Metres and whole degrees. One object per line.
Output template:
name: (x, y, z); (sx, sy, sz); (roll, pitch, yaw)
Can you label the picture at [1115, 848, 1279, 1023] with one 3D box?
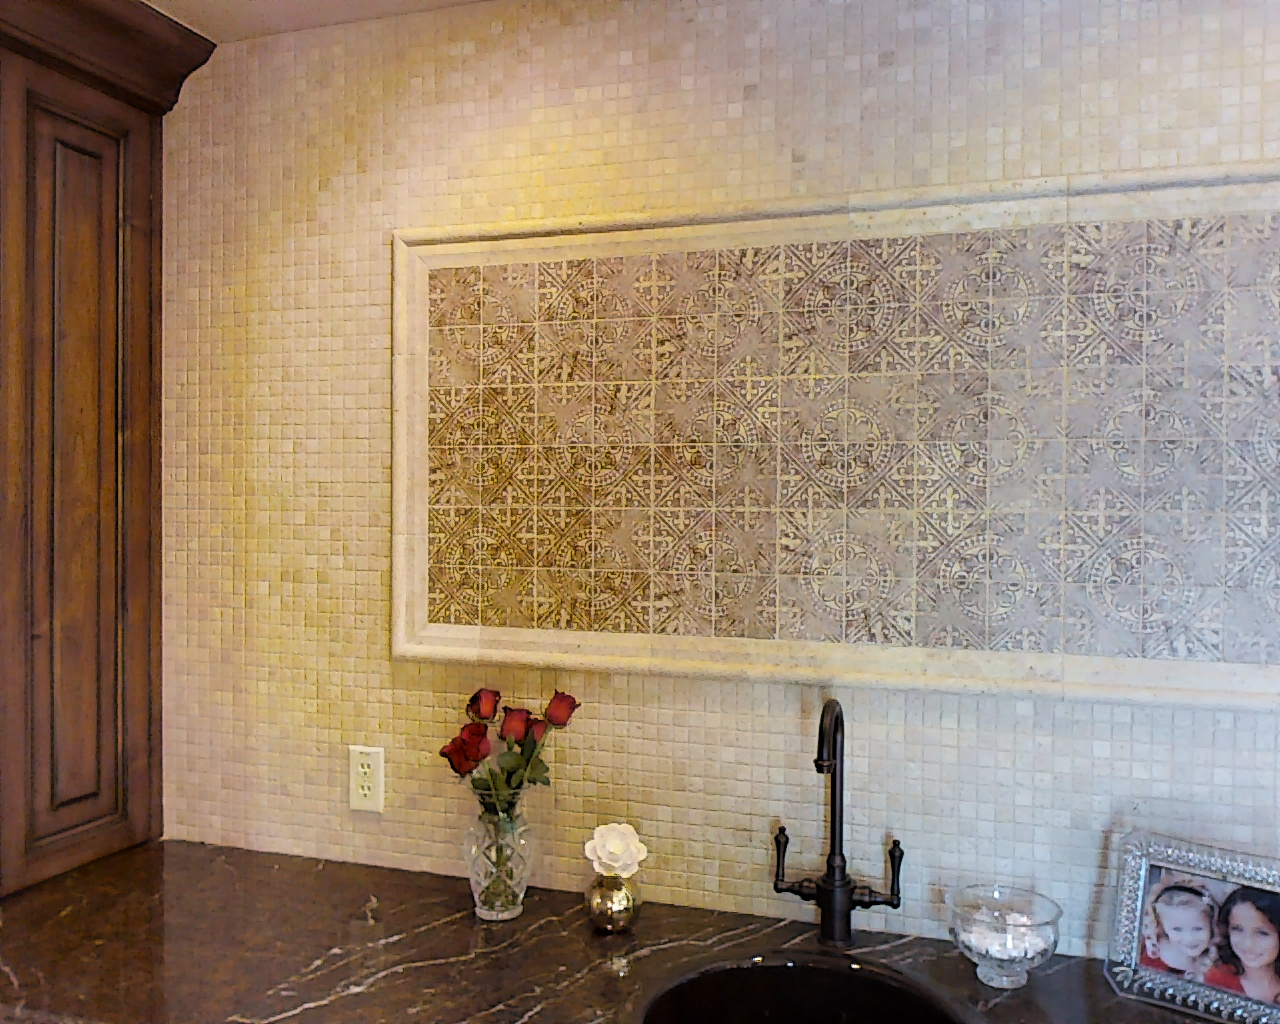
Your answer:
picture: (0.730, 0.530, 1.350); (0.220, 0.180, 0.090); (-8, -21, 40)
